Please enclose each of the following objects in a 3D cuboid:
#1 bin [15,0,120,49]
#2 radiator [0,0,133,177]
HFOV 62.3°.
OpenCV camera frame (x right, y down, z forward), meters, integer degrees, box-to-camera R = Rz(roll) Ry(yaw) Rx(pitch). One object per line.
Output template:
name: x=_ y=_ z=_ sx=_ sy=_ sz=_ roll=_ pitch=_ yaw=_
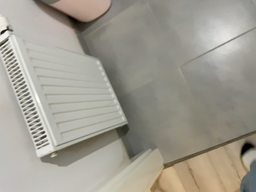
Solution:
bin: x=-0.330 y=-0.530 z=1.180 sx=0.320 sy=0.460 sz=0.310 roll=-31 pitch=79 yaw=16
radiator: x=-0.260 y=-0.050 z=0.980 sx=0.110 sy=0.670 sz=0.610 roll=-29 pitch=80 yaw=17
